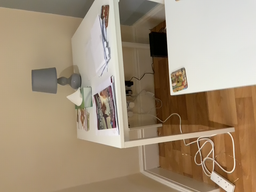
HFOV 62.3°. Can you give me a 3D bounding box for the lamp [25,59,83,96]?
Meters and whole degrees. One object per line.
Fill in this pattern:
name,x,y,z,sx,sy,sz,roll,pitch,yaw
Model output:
lamp,-0.490,-0.110,1.390,0.210,0.320,0.190,-16,78,61
